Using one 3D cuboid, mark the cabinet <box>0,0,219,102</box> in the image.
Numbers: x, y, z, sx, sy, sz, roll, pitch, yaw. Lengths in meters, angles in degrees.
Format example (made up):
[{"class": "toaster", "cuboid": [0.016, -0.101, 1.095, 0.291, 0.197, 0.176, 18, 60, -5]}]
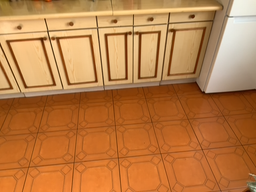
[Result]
[{"class": "cabinet", "cuboid": [-0.420, -0.500, 2.130, 2.270, 0.840, 0.570, -4, 41, -4]}]
